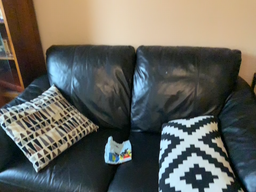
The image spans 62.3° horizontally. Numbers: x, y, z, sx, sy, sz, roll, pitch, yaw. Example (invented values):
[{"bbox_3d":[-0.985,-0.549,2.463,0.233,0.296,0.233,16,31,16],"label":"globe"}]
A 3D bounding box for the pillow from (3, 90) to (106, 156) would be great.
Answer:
[{"bbox_3d":[-0.470,0.170,1.400,0.450,0.180,0.440,-9,22,33],"label":"pillow"}]
